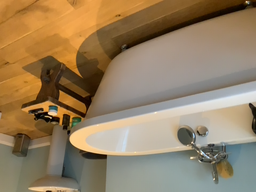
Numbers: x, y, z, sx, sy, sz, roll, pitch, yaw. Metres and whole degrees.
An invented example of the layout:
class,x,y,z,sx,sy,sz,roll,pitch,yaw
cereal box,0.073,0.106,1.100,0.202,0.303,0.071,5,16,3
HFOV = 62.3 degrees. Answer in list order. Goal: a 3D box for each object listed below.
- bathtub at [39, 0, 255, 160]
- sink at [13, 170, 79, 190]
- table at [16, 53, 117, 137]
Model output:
class,x,y,z,sx,sy,sz,roll,pitch,yaw
bathtub,0.450,-0.070,1.410,1.810,0.640,0.880,-15,149,25
sink,-1.000,1.050,2.610,0.650,0.160,0.430,-16,149,26
table,-0.470,0.050,1.890,0.320,0.390,0.830,-16,149,27
